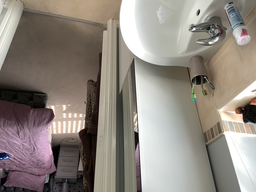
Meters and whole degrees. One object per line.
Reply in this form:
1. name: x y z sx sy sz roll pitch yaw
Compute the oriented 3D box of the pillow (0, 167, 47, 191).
1. pillow: -1.840 1.520 3.770 0.670 0.380 0.340 8 146 -15
